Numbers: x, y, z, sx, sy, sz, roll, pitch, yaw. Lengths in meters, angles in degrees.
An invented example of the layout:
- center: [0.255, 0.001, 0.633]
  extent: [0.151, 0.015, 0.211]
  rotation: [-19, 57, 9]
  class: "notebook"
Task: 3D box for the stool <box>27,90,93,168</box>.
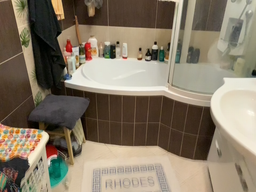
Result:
- center: [-0.540, 0.270, 1.800]
  extent: [0.350, 0.510, 0.350]
  rotation: [7, 30, 9]
  class: "stool"
